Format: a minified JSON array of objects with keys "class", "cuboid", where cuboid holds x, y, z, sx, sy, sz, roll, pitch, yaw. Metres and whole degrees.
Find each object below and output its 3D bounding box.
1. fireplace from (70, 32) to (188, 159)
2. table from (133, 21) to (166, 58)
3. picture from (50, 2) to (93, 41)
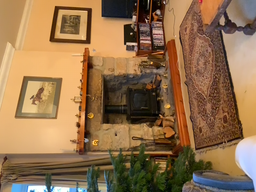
[{"class":"fireplace","cuboid":[-0.030,0.050,3.300,1.020,1.400,1.660,104,167,-65]},{"class":"table","cuboid":[0.380,-1.030,3.850,0.170,0.530,0.690,103,167,-63]},{"class":"picture","cuboid":[-1.030,-1.400,3.950,0.070,0.690,0.880,102,168,-61]}]
